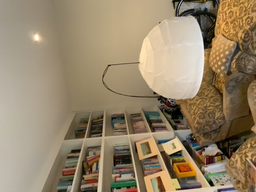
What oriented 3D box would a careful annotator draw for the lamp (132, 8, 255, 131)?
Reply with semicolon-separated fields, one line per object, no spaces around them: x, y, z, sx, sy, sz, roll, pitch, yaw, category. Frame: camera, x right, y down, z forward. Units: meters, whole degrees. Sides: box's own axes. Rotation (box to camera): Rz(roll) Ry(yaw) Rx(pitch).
0.810;-0.290;1.900;0.690;1.460;0.820;-102;9;-63;lamp
